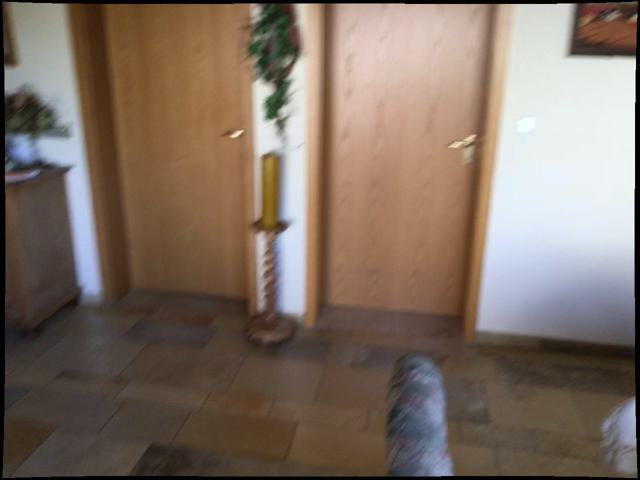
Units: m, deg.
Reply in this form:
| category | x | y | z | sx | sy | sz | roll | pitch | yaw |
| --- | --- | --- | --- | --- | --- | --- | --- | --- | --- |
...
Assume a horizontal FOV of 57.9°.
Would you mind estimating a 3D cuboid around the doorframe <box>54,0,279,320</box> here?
| category | x | y | z | sx | sy | sz | roll | pitch | yaw |
| --- | --- | --- | --- | --- | --- | --- | --- | --- | --- |
| doorframe | -0.759 | -0.581 | 3.100 | 1.019 | 1.952 | 0.390 | 4 | 20 | 8 |

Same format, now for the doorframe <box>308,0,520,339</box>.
| category | x | y | z | sx | sy | sz | roll | pitch | yaw |
| --- | --- | --- | --- | --- | --- | --- | --- | --- | --- |
| doorframe | 0.430 | -0.470 | 2.960 | 0.899 | 1.902 | 0.380 | 4 | 20 | 8 |

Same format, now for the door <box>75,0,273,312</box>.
| category | x | y | z | sx | sy | sz | roll | pitch | yaw |
| --- | --- | --- | --- | --- | --- | --- | --- | --- | --- |
| door | -0.749 | -0.581 | 3.160 | 0.929 | 1.932 | 0.290 | 4 | 20 | 8 |

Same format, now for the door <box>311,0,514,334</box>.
| category | x | y | z | sx | sy | sz | roll | pitch | yaw |
| --- | --- | --- | --- | --- | --- | --- | --- | --- | --- |
| door | 0.430 | -0.480 | 2.990 | 0.879 | 1.912 | 0.320 | 4 | 20 | 8 |
